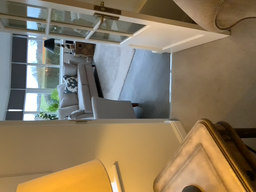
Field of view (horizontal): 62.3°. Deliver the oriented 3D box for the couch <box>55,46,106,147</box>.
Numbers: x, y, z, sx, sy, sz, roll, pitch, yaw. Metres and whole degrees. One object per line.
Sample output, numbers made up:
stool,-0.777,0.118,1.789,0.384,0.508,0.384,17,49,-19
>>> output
couch,-1.340,-0.060,5.440,1.160,0.880,2.370,114,149,-42
